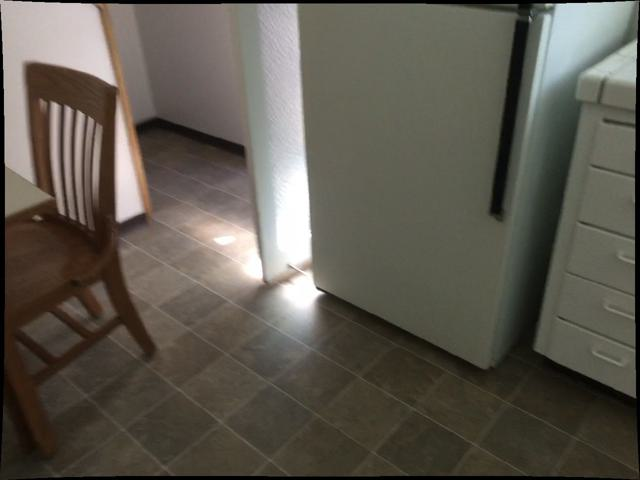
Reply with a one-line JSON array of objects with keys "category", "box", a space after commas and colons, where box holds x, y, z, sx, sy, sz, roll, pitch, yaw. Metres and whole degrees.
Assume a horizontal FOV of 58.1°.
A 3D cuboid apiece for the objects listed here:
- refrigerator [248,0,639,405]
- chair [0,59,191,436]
[{"category": "refrigerator", "box": [0.399, -0.491, 1.790, 0.939, 1.592, 0.740, 20, 37, 32]}, {"category": "chair", "box": [-0.809, 0.000, 1.720, 0.540, 0.901, 0.460, 20, 37, 32]}]
